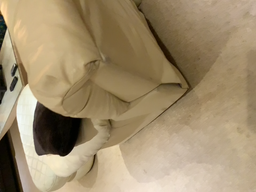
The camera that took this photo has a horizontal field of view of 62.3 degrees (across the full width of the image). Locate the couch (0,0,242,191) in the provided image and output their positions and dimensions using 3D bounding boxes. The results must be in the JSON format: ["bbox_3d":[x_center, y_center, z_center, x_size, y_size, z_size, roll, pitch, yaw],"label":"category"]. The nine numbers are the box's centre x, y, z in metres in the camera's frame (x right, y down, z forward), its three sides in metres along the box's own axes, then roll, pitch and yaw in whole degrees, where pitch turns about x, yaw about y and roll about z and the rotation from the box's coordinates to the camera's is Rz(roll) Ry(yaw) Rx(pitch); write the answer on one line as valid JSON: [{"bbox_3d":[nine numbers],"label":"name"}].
[{"bbox_3d":[-0.550,-0.720,1.450,1.070,0.970,2.310,-43,64,38],"label":"couch"}]
